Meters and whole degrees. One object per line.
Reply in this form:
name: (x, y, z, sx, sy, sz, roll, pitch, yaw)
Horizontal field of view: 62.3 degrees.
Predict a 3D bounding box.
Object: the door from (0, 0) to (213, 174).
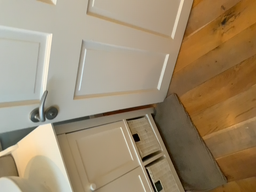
door: (-0.280, -0.210, 0.680, 0.200, 2.140, 0.860, 26, 110, 33)
